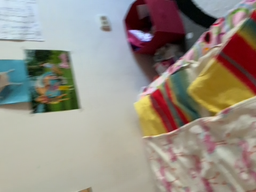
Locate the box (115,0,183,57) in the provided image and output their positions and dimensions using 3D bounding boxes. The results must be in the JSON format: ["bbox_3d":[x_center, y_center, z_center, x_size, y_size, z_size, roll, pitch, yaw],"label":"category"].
[{"bbox_3d":[0.150,-0.560,1.690,0.330,0.310,0.360,-43,59,51],"label":"box"}]
